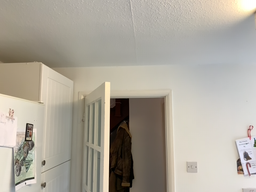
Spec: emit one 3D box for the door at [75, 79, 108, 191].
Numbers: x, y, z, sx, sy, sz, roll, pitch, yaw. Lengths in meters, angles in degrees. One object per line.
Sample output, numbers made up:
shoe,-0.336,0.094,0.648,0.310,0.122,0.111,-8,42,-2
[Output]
door,-0.310,0.970,1.590,0.040,2.040,0.940,3,-9,-22
